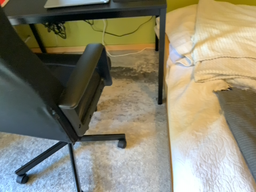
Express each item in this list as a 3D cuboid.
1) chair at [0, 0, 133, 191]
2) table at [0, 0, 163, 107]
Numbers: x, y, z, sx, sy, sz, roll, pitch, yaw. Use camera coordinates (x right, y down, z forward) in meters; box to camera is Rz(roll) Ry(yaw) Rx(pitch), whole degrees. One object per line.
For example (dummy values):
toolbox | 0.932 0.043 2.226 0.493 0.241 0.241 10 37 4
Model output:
chair | -0.420 -0.090 0.940 0.680 1.190 0.680 6 50 12
table | -0.340 -0.420 1.540 1.120 0.730 0.690 0 49 6
